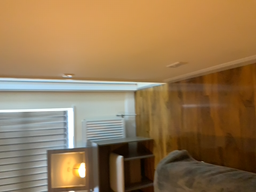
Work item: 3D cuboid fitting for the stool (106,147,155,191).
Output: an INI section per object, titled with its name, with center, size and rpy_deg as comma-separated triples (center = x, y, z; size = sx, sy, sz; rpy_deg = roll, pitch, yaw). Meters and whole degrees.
[stool]
center = 0.020, 0.940, 2.740
size = 0.360, 0.510, 0.460
rpy_deg = -10, 81, 63
